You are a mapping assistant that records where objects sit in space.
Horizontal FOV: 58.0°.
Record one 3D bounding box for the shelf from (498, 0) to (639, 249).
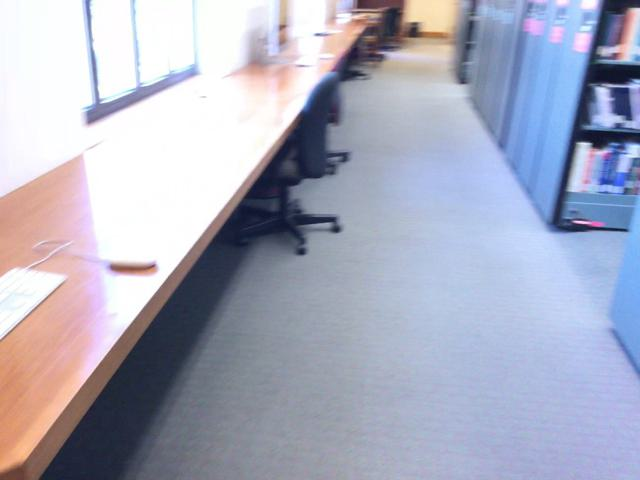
[{"bbox_3d":[1.770,-1.420,3.520,0.780,2.410,1.790,3,25,7],"label":"shelf"}]
